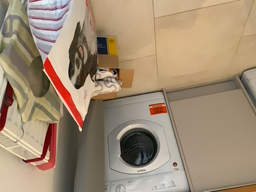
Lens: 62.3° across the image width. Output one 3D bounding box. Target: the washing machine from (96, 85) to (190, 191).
[{"bbox_3d":[0.110,0.490,1.870,0.580,0.840,0.690,-11,145,3],"label":"washing machine"}]
